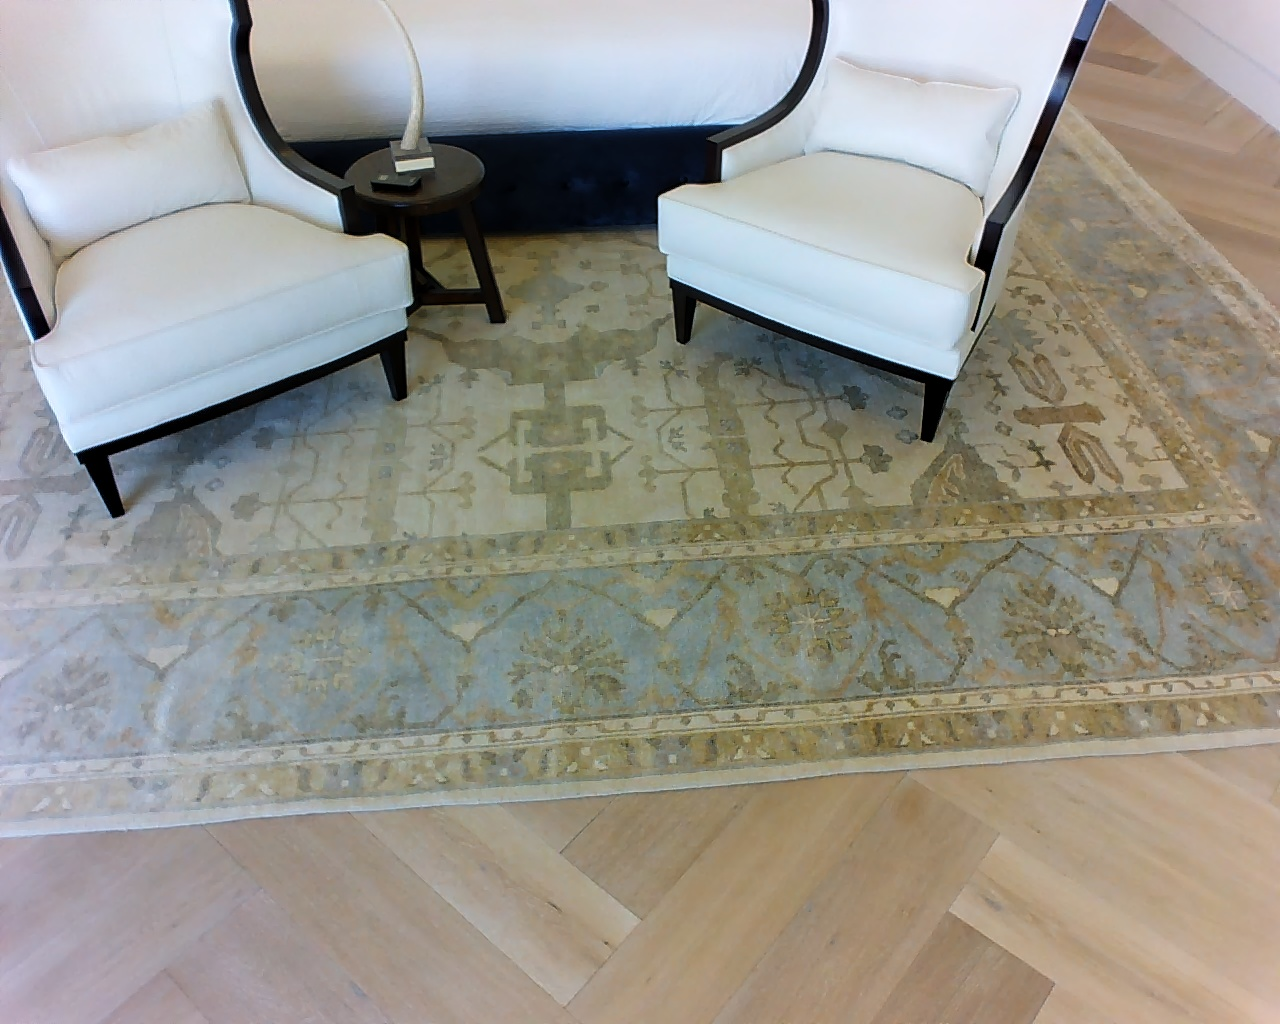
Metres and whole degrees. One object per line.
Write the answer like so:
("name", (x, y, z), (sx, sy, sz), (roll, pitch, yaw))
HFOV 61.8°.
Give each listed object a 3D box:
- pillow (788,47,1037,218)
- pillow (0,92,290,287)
("pillow", (0.700, -1.000, 2.800), (0.550, 0.260, 0.240), (21, 46, 22))
("pillow", (-1.210, -0.800, 2.610), (0.600, 0.230, 0.240), (-31, 50, -30))
